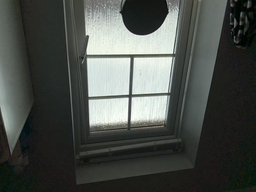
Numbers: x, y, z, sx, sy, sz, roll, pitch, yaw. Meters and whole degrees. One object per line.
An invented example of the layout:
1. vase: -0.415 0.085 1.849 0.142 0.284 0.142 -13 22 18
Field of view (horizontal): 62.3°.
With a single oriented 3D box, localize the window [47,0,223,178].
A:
1. window: 0.010 -0.100 0.970 0.630 0.940 0.230 -2 -156 -11
